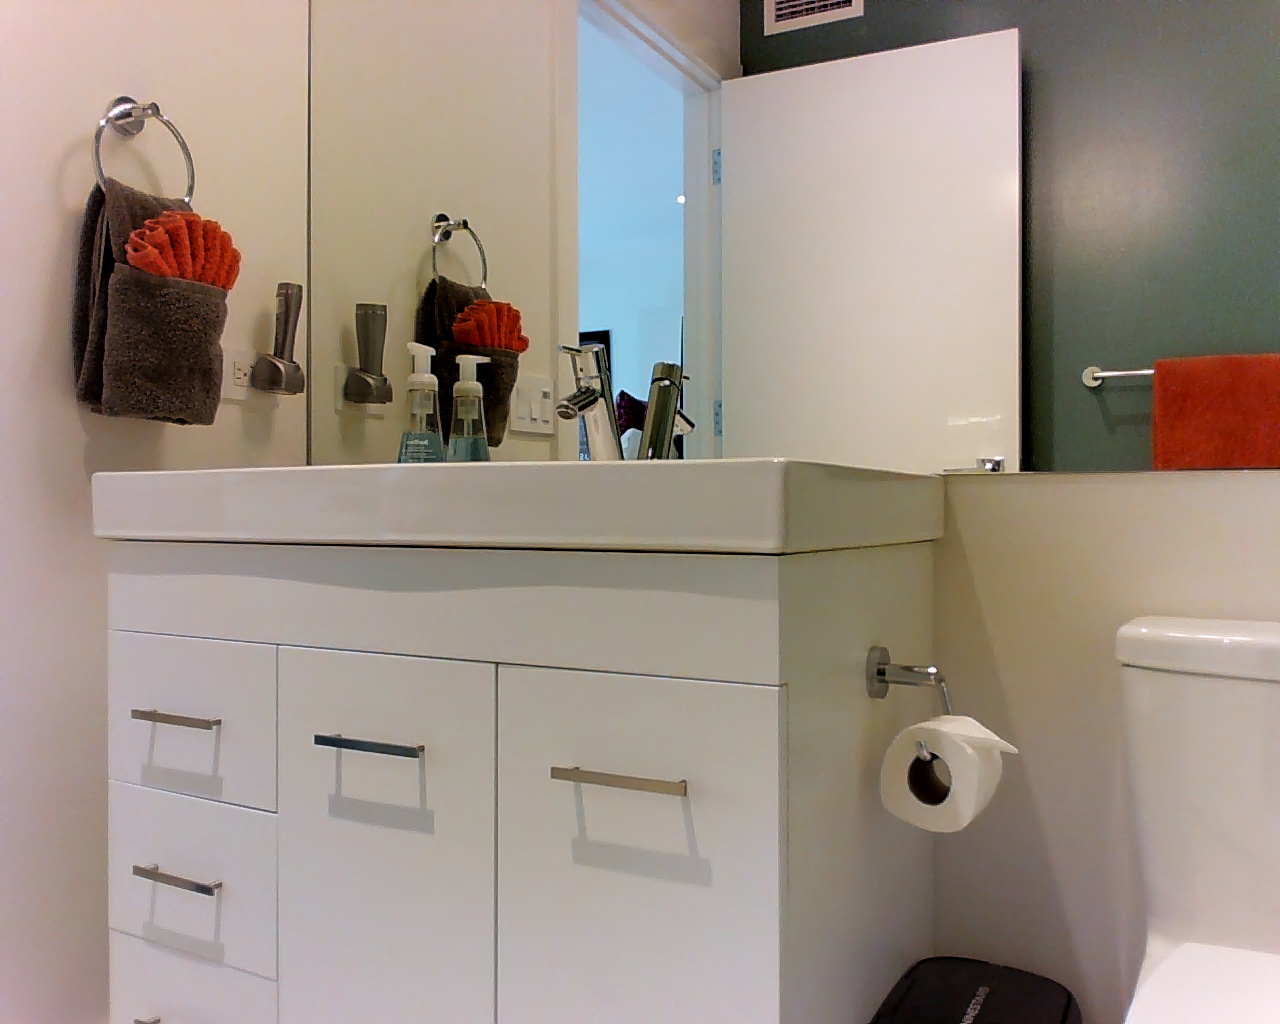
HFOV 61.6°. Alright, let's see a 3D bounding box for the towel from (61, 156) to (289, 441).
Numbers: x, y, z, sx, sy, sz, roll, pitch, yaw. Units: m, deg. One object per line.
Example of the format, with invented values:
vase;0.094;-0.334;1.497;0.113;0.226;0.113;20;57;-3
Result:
towel;-0.600;-0.260;1.400;0.160;0.320;0.220;0;1;29
